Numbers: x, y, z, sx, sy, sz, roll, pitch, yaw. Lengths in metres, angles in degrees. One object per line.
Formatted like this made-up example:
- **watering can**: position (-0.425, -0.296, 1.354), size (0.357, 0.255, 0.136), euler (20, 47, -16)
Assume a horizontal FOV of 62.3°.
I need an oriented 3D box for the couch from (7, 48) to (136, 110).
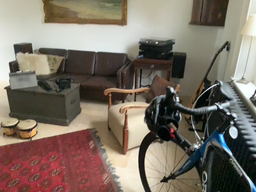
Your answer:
- **couch**: position (-0.870, -0.350, 3.590), size (1.850, 0.680, 0.850), euler (6, 23, 11)
